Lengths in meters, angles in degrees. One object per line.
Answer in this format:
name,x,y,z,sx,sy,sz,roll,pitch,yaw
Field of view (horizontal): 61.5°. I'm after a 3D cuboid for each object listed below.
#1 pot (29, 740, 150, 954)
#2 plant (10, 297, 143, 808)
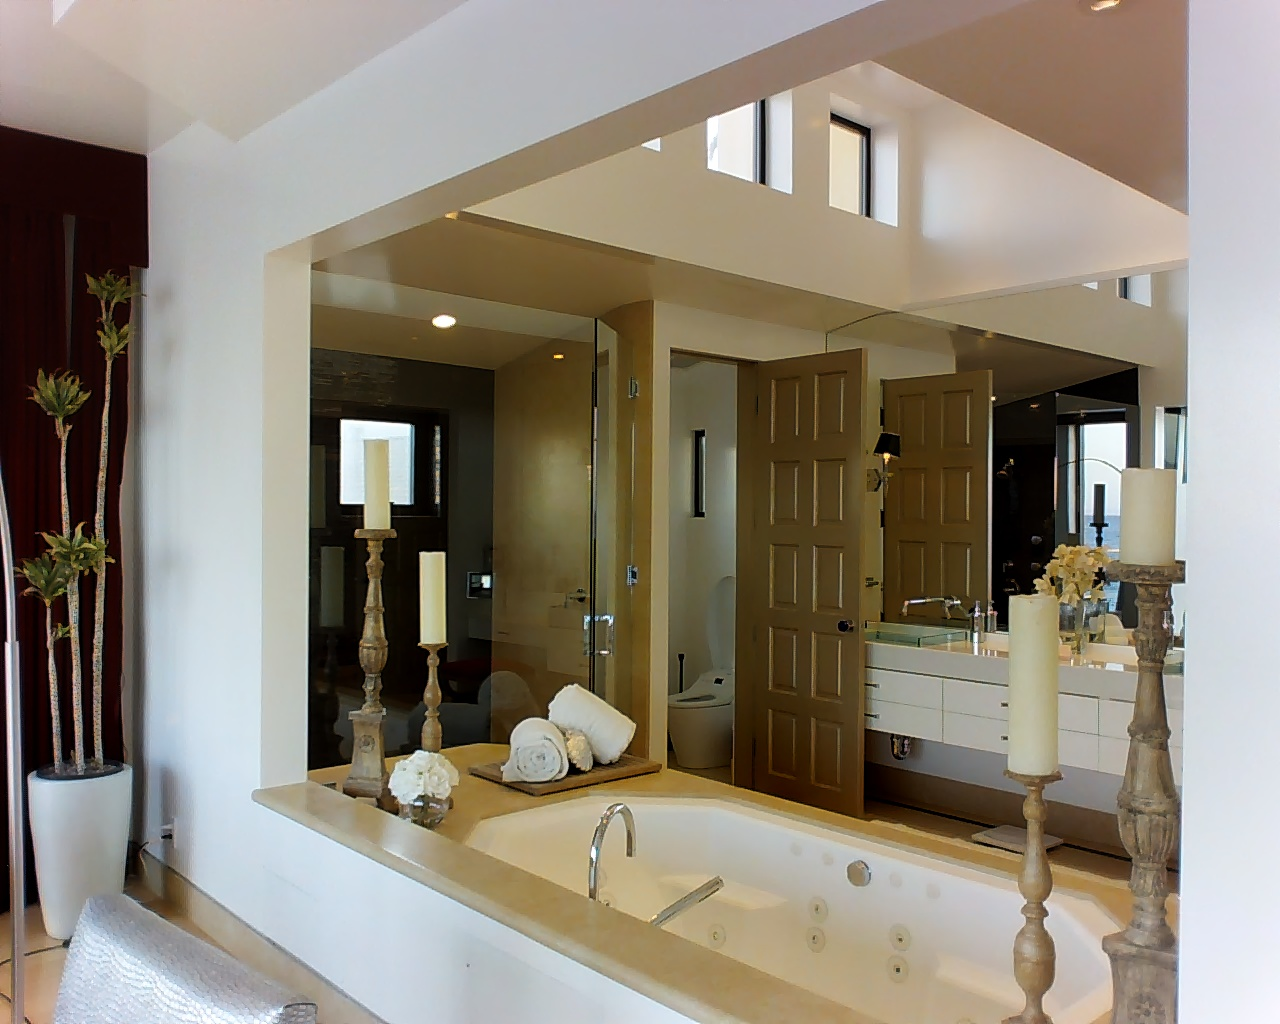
pot,-1.999,1.191,3.900,0.360,0.620,0.360,0,0,-32
plant,-2.089,0.140,3.980,0.340,1.761,0.420,0,0,-42
